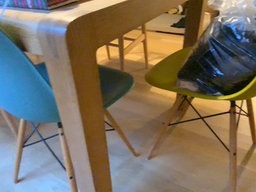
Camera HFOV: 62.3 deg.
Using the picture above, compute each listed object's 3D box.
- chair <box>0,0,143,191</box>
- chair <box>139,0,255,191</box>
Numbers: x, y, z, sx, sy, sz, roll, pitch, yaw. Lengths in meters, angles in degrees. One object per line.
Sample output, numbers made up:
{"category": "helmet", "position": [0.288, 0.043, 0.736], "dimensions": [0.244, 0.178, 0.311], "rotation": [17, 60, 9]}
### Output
{"category": "chair", "position": [-0.240, 0.040, 0.780], "dimensions": [0.400, 0.730, 0.440], "rotation": [22, 41, 29]}
{"category": "chair", "position": [0.340, -0.030, 0.850], "dimensions": [0.430, 0.770, 0.390], "rotation": [23, 41, 30]}
